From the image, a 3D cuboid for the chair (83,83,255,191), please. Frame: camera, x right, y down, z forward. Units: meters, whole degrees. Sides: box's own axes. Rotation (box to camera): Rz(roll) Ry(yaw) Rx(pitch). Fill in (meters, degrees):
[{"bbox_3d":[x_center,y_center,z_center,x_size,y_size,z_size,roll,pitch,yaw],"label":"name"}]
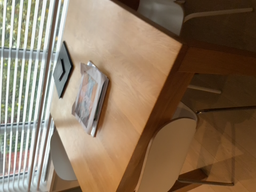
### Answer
[{"bbox_3d":[0.240,0.220,1.130,0.430,0.780,0.430,39,122,47],"label":"chair"}]
